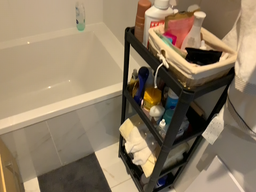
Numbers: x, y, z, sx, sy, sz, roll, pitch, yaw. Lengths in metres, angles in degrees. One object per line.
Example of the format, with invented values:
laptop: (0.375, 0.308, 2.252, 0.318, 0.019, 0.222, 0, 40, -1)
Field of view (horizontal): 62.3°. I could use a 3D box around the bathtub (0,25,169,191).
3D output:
bathtub: (-0.590, 0.100, 1.370, 1.390, 0.570, 0.780, -16, 51, -20)
